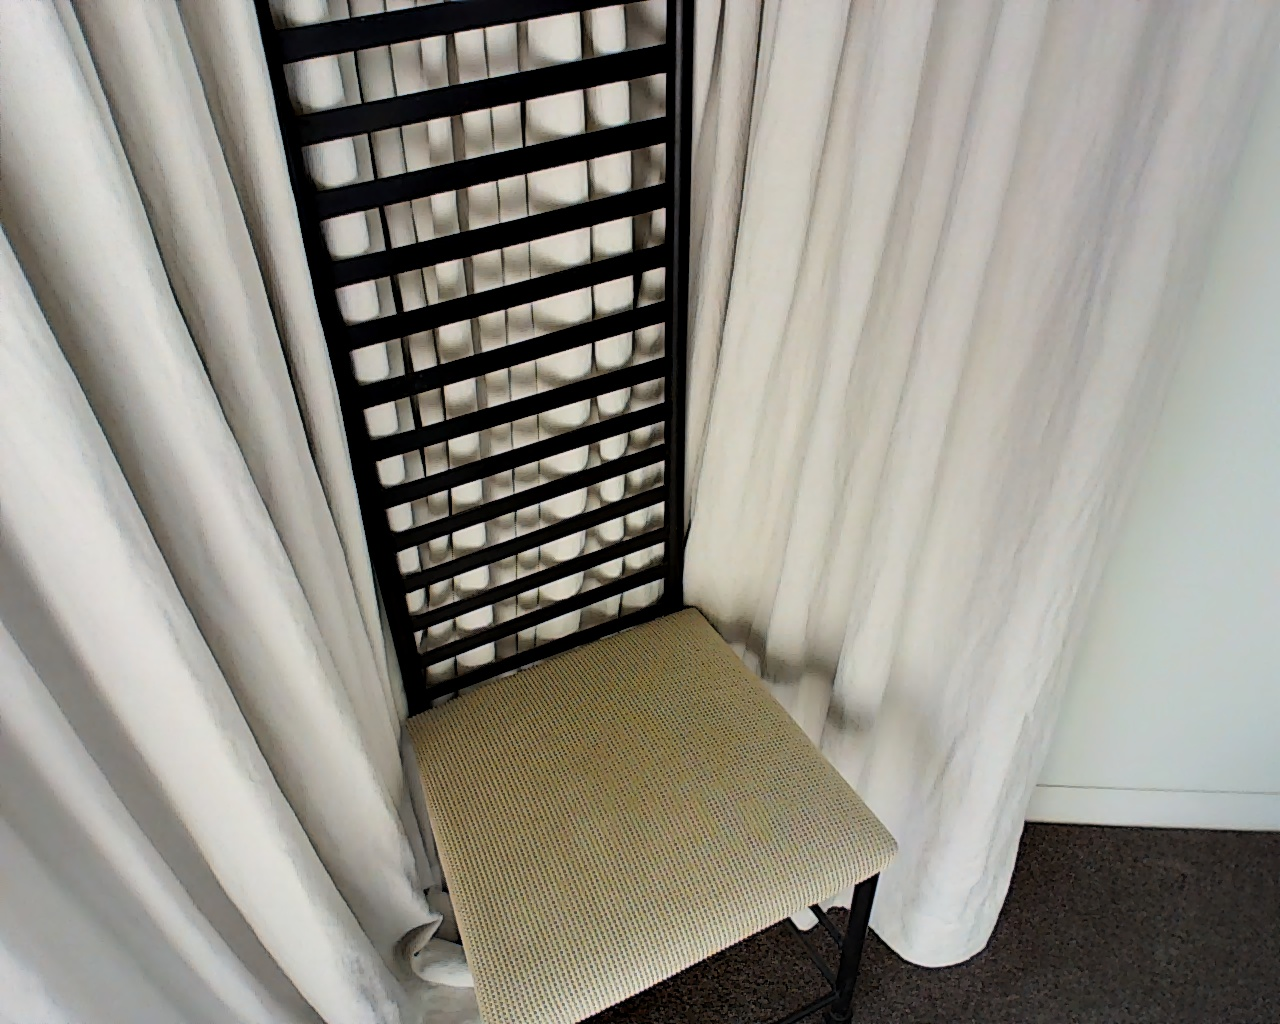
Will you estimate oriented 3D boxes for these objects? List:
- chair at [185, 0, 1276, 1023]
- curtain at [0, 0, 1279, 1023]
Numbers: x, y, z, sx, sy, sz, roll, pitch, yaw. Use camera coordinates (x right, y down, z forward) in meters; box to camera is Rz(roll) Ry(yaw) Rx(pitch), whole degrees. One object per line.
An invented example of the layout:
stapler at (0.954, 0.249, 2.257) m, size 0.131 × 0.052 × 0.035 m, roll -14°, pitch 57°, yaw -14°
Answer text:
chair at (-0.020, 0.030, 1.020) m, size 0.490 × 1.630 × 0.580 m, roll -16°, pitch 45°, yaw -16°
curtain at (-0.040, -0.150, 0.490) m, size 0.910 × 2.670 × 1.340 m, roll 16°, pitch 45°, yaw 17°
